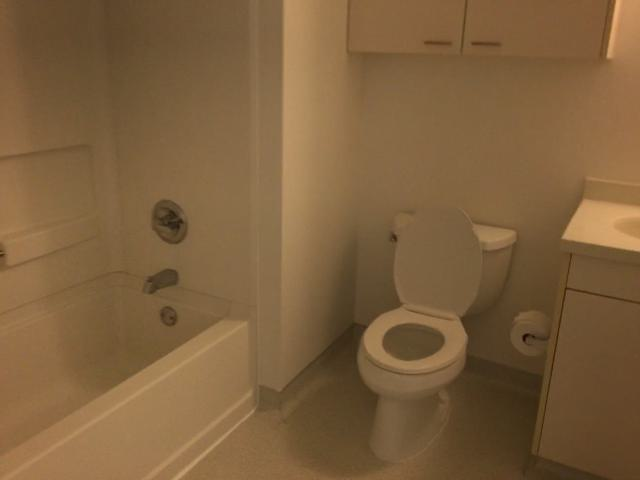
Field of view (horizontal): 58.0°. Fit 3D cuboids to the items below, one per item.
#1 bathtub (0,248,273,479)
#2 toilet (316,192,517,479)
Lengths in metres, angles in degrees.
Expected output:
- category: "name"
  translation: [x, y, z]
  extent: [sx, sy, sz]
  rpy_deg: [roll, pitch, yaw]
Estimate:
- category: "bathtub"
  translation: [-0.790, 0.490, 1.790]
  extent: [0.750, 0.570, 1.190]
  rpy_deg: [7, 17, 27]
- category: "toilet"
  translation: [0.380, 0.300, 2.150]
  extent: [0.500, 0.810, 0.720]
  rpy_deg: [7, 17, 27]
